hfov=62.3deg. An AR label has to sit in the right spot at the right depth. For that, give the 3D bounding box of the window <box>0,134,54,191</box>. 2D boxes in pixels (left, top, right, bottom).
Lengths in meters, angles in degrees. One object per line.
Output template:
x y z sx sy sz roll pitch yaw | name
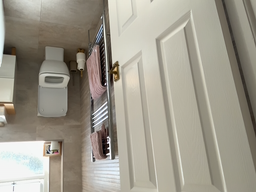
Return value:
-1.560 1.100 2.910 0.980 1.060 0.370 3 162 -24 | window

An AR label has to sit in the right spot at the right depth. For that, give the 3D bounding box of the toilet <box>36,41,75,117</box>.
-0.960 -0.180 2.760 0.400 0.790 0.610 3 162 -24 | toilet

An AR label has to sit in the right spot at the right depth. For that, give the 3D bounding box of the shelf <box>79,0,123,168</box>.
-0.310 -0.090 2.040 0.170 1.460 0.770 1 163 -21 | shelf
